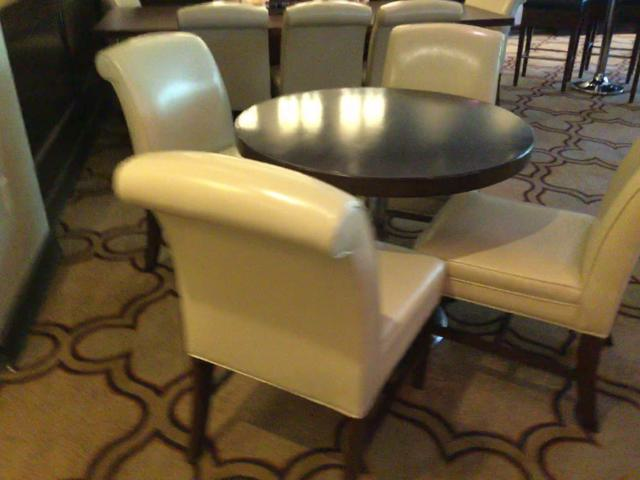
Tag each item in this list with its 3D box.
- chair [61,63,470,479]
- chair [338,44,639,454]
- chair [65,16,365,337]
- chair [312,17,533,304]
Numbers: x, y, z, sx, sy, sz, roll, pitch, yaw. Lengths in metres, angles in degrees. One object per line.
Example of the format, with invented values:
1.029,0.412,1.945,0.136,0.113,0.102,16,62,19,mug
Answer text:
-0.040,0.120,1.480,0.590,0.930,0.770,11,31,21,chair
0.610,-0.030,1.740,0.970,0.920,0.540,14,32,25,chair
-0.350,-0.300,2.240,0.840,0.950,0.610,16,33,28,chair
0.430,-0.380,2.390,0.650,0.900,0.760,11,31,21,chair
